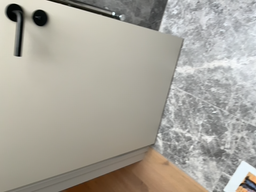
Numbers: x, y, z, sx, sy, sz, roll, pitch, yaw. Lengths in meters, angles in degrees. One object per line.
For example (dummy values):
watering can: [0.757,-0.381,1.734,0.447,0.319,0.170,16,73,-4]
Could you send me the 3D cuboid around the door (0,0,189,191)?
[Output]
door: [-0.470,0.030,0.630,0.040,2.140,0.780,26,110,40]
